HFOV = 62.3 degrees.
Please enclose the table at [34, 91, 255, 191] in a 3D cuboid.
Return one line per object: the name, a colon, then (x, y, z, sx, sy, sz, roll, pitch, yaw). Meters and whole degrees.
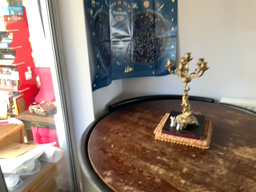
table: (0.370, 0.570, 1.410, 1.210, 0.760, 1.230, 5, 22, 16)
